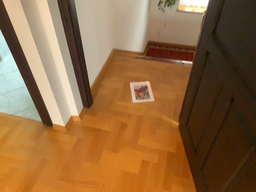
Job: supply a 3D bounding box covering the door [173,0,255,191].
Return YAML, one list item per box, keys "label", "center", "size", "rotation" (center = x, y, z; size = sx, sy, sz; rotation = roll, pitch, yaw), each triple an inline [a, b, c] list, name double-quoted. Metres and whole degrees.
- label: "door"
  center: [0.450, -0.250, 0.790]
  size: [0.110, 2.100, 1.030]
  rotation: [-1, 46, 0]
